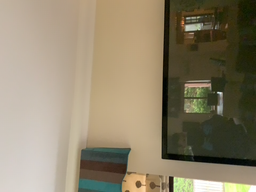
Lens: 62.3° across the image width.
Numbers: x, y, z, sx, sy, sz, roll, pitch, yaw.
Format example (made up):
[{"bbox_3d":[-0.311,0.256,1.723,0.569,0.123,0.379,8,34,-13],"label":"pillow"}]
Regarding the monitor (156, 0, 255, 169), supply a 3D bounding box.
[{"bbox_3d":[0.560,-0.190,1.260,0.060,0.740,1.160,30,-118,-72],"label":"monitor"}]
